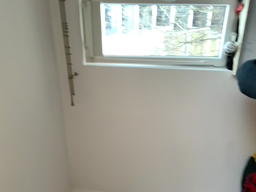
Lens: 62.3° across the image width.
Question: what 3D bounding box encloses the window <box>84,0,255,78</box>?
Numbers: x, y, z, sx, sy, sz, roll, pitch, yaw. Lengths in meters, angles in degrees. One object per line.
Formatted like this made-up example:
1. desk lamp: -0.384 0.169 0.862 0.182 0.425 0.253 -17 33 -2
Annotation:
1. window: 0.360 -0.630 2.190 0.210 1.560 0.780 -71 -17 -66
